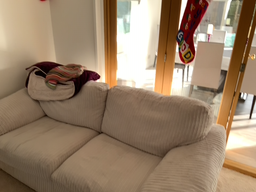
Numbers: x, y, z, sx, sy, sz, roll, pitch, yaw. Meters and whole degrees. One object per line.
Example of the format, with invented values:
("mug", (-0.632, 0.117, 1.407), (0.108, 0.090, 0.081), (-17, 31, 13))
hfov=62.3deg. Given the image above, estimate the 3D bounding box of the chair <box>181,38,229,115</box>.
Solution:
("chair", (1.210, -0.320, 3.380), (0.470, 1.070, 0.460), (14, 27, 25))
